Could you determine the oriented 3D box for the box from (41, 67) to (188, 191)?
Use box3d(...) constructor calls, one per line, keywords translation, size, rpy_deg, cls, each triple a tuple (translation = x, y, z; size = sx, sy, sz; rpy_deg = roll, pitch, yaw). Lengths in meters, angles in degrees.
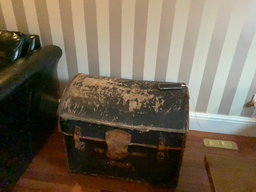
box3d(translation=(-0.050, 0.210, 1.520), size=(0.770, 0.560, 0.660), rpy_deg=(5, 32, 5), cls="box")
